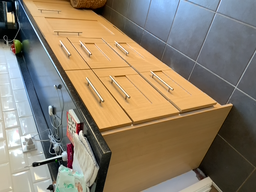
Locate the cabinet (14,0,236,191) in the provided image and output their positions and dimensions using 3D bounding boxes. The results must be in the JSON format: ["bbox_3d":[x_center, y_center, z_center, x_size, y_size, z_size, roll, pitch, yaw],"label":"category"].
[{"bbox_3d":[-0.360,-0.300,1.930,2.250,0.910,0.600,48,135,42],"label":"cabinet"}]
